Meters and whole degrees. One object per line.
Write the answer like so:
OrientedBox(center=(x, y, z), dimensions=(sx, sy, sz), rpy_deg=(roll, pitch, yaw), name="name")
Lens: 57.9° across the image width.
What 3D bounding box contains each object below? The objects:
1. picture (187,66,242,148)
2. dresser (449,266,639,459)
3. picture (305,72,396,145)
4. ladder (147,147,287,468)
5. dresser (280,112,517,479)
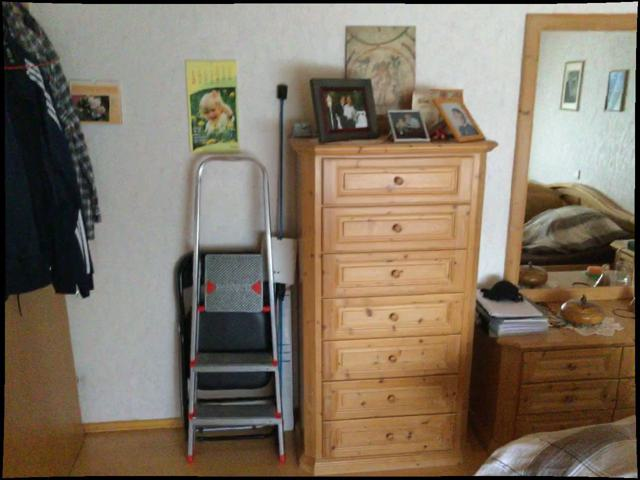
OrientedBox(center=(-0.440, -0.561, 2.440), dimensions=(0.200, 0.330, 0.070), rpy_deg=(-2, 17, -4), name="picture")
OrientedBox(center=(1.279, 0.531, 2.670), dimensions=(1.209, 0.671, 0.490), rpy_deg=(-2, 17, -4), name="dresser")
OrientedBox(center=(0.110, -0.531, 2.290), dimensions=(0.310, 0.250, 0.350), rpy_deg=(-2, 17, -4), name="picture")
OrientedBox(center=(-0.400, 0.280, 2.490), dimensions=(0.460, 1.281, 0.450), rpy_deg=(-2, 17, -4), name="ladder")
OrientedBox(center=(0.270, 0.210, 2.460), dimensions=(0.819, 1.421, 0.540), rpy_deg=(-2, 17, -4), name="dresser")
